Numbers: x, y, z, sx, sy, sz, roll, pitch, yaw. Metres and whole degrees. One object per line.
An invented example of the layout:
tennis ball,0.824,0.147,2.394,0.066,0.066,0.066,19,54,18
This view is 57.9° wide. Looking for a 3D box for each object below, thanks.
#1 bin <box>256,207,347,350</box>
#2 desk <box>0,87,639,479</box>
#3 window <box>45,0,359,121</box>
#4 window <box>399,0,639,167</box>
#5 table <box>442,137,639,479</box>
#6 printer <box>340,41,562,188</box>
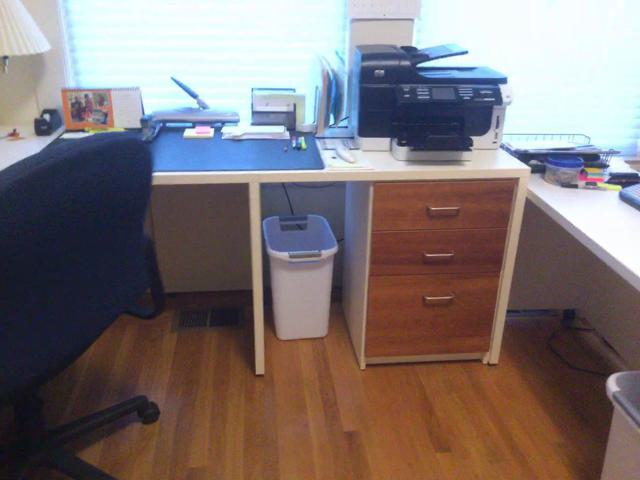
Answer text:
bin,-0.090,0.130,2.210,0.290,0.380,0.440,-1,23,-8
desk,-0.520,0.200,1.460,2.420,0.870,1.800,-1,23,-8
window,-0.370,-1.190,1.830,1.040,1.600,0.090,-1,23,-8
window,0.870,-1.100,2.030,1.040,1.710,0.100,-1,23,-8
table,0.870,0.210,1.690,0.560,0.750,1.210,-1,23,-8
printer,0.380,-0.440,1.930,0.520,0.370,0.570,-1,23,-8
